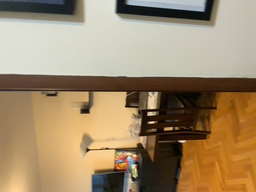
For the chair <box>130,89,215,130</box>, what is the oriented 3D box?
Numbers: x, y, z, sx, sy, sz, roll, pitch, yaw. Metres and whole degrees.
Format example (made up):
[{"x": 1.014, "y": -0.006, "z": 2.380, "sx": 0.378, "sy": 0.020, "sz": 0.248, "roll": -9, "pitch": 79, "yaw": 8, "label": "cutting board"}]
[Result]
[{"x": 0.570, "y": 0.160, "z": 2.890, "sx": 0.460, "sy": 0.980, "sz": 0.380, "roll": -116, "pitch": 29, "yaw": -66, "label": "chair"}]
